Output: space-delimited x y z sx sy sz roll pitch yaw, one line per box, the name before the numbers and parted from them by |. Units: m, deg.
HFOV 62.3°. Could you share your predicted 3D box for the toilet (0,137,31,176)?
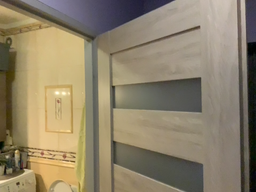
toilet | -1.450 0.660 2.310 0.440 0.290 0.570 -1 0 24
